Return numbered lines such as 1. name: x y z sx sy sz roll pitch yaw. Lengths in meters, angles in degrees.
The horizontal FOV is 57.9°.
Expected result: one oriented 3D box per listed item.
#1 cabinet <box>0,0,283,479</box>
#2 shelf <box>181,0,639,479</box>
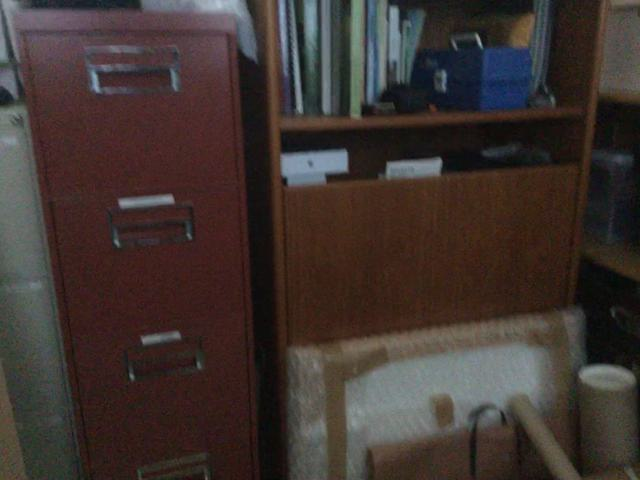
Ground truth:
1. cabinet: -0.310 0.280 1.220 0.450 1.490 0.070 -6 17 -20
2. shelf: 0.190 -0.040 1.590 0.940 1.920 0.800 -6 17 -20
